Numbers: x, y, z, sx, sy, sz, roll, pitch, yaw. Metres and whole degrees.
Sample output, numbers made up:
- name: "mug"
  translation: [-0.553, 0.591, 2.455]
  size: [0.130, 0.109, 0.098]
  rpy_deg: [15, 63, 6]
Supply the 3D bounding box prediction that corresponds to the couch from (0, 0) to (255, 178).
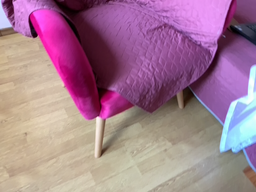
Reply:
- name: "couch"
  translation: [-0.060, -0.370, 0.890]
  size: [0.770, 1.010, 0.770]
  rpy_deg: [-26, 57, -24]
